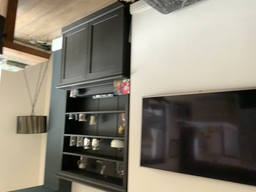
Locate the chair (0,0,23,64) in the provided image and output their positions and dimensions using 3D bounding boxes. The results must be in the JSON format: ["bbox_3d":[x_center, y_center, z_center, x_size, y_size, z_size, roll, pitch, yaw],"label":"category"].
[{"bbox_3d":[-1.490,-0.860,2.280,0.510,0.850,0.470,-6,169,42],"label":"chair"}]

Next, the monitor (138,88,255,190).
[{"bbox_3d":[0.600,0.310,1.790,1.210,0.710,0.060,-2,171,40],"label":"monitor"}]
